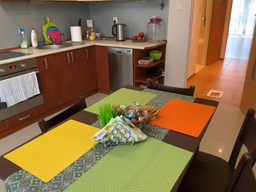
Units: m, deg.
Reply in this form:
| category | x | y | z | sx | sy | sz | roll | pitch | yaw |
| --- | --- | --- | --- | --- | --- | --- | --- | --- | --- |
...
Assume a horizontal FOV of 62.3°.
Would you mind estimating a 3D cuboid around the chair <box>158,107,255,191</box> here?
| category | x | y | z | sx | sy | sz | roll | pitch | yaw |
| --- | --- | --- | --- | --- | --- | --- | --- | --- | --- |
| chair | 0.450 | 0.510 | 1.220 | 0.470 | 0.730 | 0.400 | 8 | 24 | 20 |

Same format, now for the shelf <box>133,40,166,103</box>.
| category | x | y | z | sx | sy | sz | roll | pitch | yaw |
| --- | --- | --- | --- | --- | --- | --- | --- | --- | --- |
| shelf | 0.330 | -0.400 | 3.290 | 0.260 | 0.850 | 0.540 | 13 | 26 | 29 |
